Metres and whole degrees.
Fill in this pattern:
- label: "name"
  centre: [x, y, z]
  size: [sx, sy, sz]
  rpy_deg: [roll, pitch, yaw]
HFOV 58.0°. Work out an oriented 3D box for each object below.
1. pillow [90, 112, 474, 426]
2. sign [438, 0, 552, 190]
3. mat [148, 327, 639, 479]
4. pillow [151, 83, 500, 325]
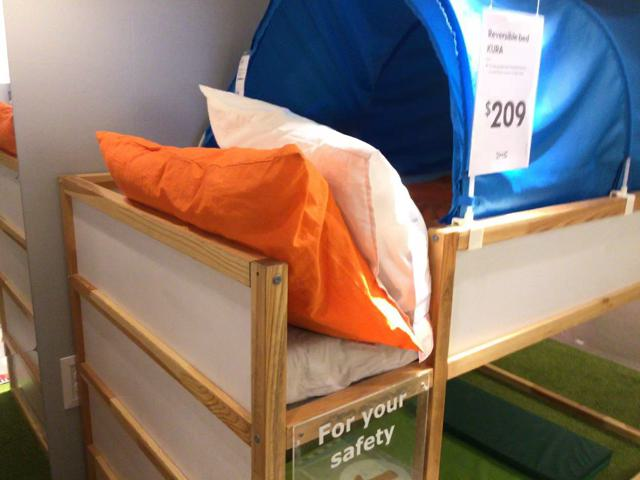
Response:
- label: "pillow"
  centre: [-0.140, -0.030, 1.190]
  size: [0.400, 0.400, 0.750]
  rpy_deg: [-8, 18, -38]
- label: "sign"
  centre: [0.340, -0.270, 1.120]
  size: [0.230, 0.330, 0.050]
  rpy_deg: [-8, 18, -39]
- label: "mat"
  centre: [0.400, 0.770, 2.130]
  size: [1.780, 0.270, 0.880]
  rpy_deg: [-8, 18, -39]
- label: "pillow"
  centre: [-0.050, -0.140, 1.270]
  size: [0.350, 0.360, 0.740]
  rpy_deg: [-8, 18, -39]
